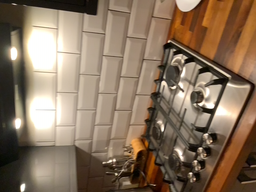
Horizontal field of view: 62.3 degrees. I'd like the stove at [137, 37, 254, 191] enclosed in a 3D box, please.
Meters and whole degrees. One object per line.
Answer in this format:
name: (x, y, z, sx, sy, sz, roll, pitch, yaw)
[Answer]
stove: (0.190, 0.100, 0.900, 0.540, 0.040, 0.570, -120, 36, -58)
